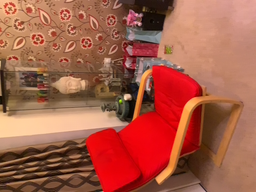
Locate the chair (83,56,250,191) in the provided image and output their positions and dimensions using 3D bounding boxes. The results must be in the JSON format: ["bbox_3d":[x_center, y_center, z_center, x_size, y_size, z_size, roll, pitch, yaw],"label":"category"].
[{"bbox_3d":[0.210,0.200,1.720,0.730,0.940,0.820,-134,48,-55],"label":"chair"}]
